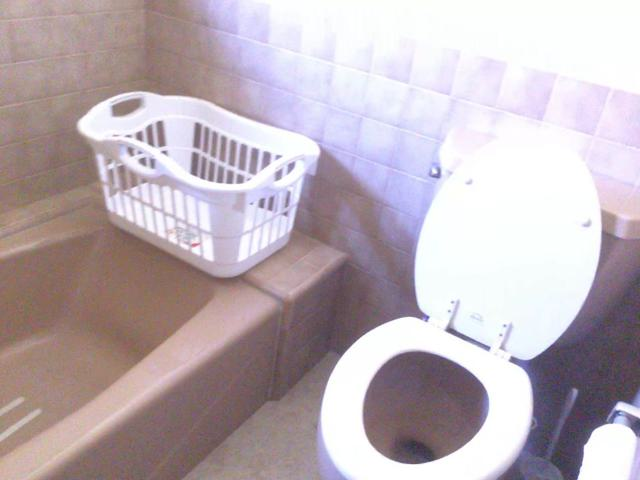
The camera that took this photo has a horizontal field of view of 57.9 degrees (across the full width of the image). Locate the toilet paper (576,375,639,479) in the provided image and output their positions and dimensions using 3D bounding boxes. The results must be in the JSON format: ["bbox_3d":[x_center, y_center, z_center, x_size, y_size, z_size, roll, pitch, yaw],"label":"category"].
[{"bbox_3d":[0.360,0.260,0.670,0.090,0.070,0.210,23,34,26],"label":"toilet paper"}]

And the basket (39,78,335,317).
[{"bbox_3d":[-0.360,-0.160,1.590,0.640,0.360,0.420,23,34,26],"label":"basket"}]
